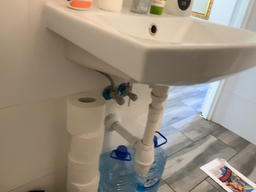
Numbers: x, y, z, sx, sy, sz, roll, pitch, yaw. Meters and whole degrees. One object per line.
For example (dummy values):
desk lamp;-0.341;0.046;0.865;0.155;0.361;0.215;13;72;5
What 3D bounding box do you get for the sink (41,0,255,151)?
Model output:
sink;0.110;-0.120;0.550;0.520;0.150;0.380;-14;35;-38
